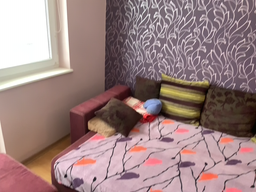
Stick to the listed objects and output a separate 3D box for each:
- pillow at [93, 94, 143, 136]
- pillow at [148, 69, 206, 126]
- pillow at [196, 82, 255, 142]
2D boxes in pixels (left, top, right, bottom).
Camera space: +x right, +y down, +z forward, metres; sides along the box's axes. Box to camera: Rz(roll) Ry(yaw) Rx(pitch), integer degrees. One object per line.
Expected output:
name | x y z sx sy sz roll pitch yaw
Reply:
pillow | -0.100 0.180 2.270 0.370 0.230 0.410 12 23 23
pillow | 0.560 0.010 2.460 0.480 0.470 0.170 28 27 15
pillow | 1.010 0.150 2.240 0.460 0.480 0.270 12 23 22
